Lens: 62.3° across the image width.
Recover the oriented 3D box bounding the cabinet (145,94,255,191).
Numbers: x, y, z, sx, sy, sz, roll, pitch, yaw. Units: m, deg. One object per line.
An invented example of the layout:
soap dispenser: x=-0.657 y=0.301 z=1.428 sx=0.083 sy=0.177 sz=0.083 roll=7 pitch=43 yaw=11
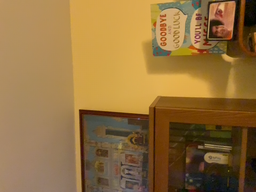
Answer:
cabinet: x=0.670 y=0.480 z=0.950 sx=0.320 sy=1.150 sz=0.910 roll=-29 pitch=-61 yaw=-74
